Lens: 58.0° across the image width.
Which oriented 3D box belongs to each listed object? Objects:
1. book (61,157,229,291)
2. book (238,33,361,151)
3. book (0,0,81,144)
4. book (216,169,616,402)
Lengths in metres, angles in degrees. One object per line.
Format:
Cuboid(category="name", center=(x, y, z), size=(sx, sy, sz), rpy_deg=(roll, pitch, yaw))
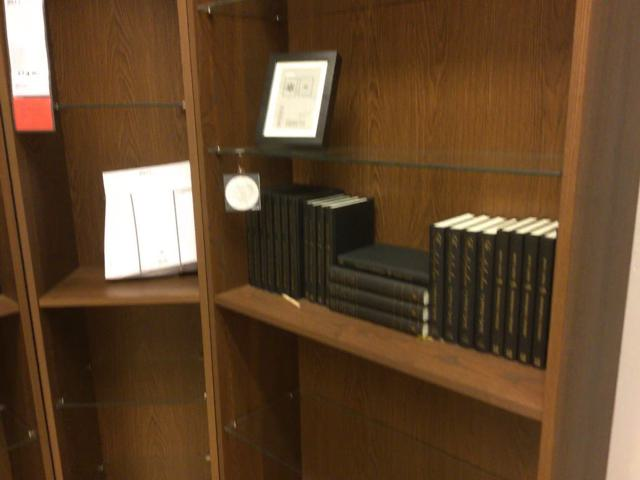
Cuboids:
Cuboid(category="book", center=(-0.420, -0.050, 1.460), size=(0.310, 0.280, 0.260), rpy_deg=(-2, 14, 3))
Cuboid(category="book", center=(-0.040, -0.300, 1.200), size=(0.190, 0.200, 0.060), rpy_deg=(-5, 35, 26))
Cuboid(category="book", center=(-0.600, -0.360, 1.210), size=(0.130, 0.300, 0.090), rpy_deg=(-12, 17, -34))
Cuboid(category="book", center=(0.130, 0.030, 1.120), size=(0.740, 0.270, 0.220), rpy_deg=(10, 19, 41))
